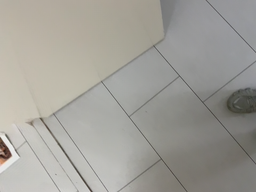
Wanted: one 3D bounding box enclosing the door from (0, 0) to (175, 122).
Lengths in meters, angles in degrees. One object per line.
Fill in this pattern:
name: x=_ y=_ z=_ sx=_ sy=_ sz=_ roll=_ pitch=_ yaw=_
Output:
door: x=-0.290 y=-0.130 z=0.160 sx=0.750 sy=2.040 sz=0.030 roll=-32 pitch=82 yaw=9
